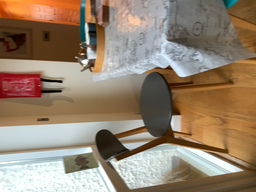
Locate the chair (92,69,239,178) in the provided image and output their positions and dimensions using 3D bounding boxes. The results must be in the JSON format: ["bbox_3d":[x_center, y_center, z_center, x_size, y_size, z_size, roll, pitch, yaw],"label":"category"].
[{"bbox_3d":[0.210,0.120,1.460,0.520,0.790,0.540,-152,64,-66],"label":"chair"}]
